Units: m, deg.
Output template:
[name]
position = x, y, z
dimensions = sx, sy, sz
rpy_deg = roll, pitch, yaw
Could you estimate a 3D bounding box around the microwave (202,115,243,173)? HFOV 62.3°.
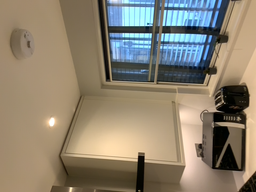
[microwave]
position = 0.870, 0.430, 1.970
dimensions = 0.230, 0.270, 0.480
rpy_deg = 67, -153, -82
